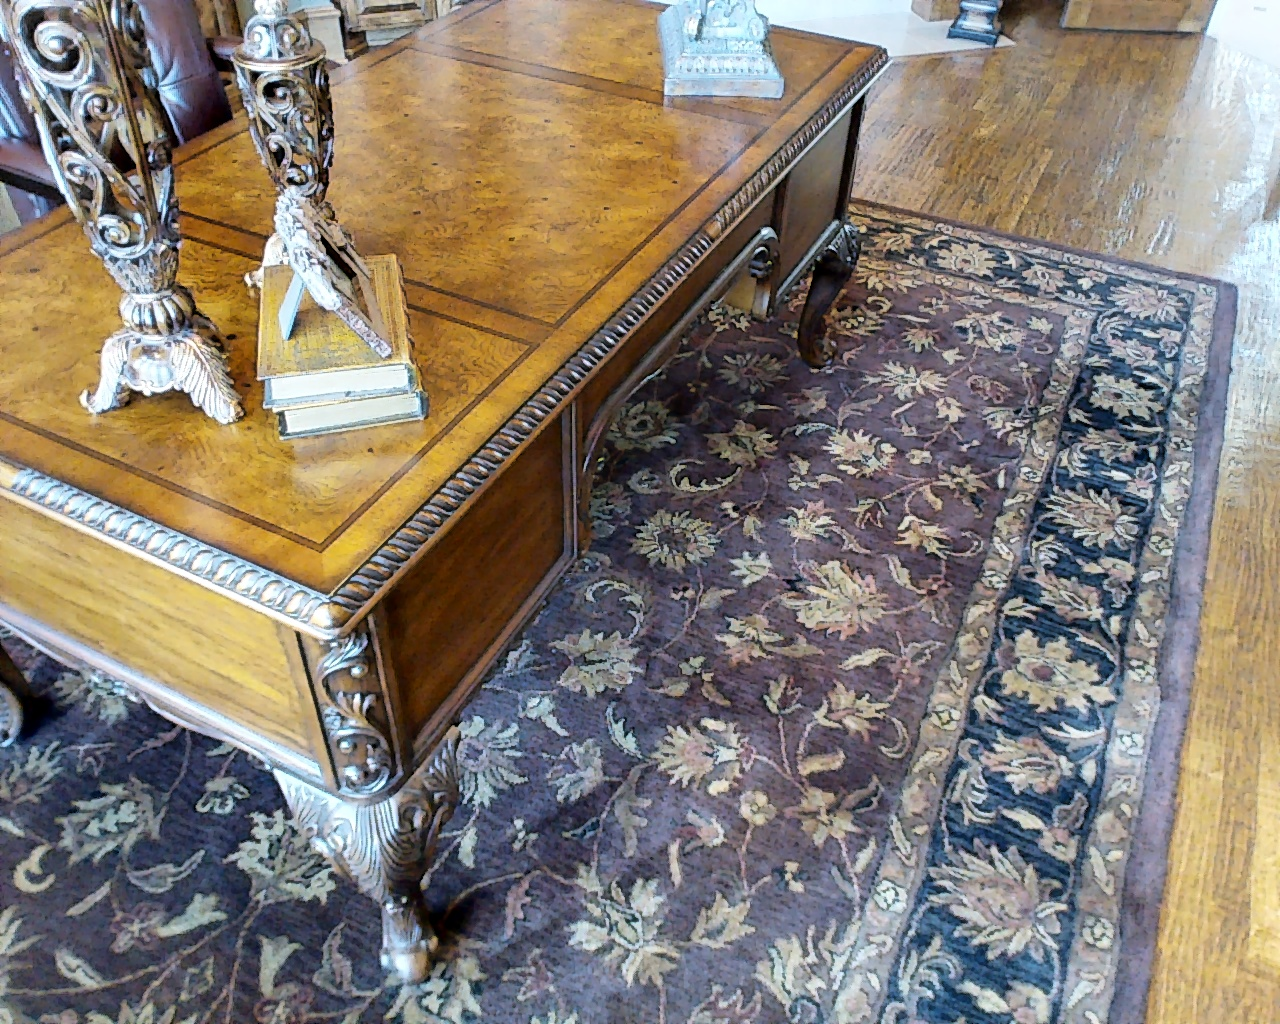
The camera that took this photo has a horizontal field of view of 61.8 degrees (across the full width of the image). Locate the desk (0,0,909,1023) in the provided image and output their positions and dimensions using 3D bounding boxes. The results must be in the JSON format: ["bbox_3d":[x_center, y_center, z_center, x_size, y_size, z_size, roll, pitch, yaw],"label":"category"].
[{"bbox_3d":[-0.300,-0.290,2.030,0.960,0.830,1.890,19,45,19],"label":"desk"}]

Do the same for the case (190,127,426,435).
[{"bbox_3d":[-0.370,-0.270,1.230,0.200,0.230,0.260,-8,43,-10],"label":"case"}]
